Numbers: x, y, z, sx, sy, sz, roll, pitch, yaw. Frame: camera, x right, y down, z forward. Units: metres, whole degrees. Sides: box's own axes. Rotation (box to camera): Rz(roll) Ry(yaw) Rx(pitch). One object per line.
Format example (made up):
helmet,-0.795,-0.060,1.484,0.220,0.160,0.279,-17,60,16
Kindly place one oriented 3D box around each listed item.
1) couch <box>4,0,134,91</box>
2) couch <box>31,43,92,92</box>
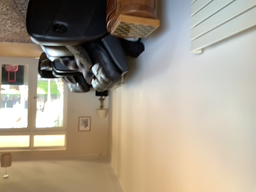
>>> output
couch,-0.740,-0.610,3.090,1.200,0.960,2.150,1,179,-11
couch,-1.540,-0.590,4.930,0.980,0.930,0.990,-1,178,44
